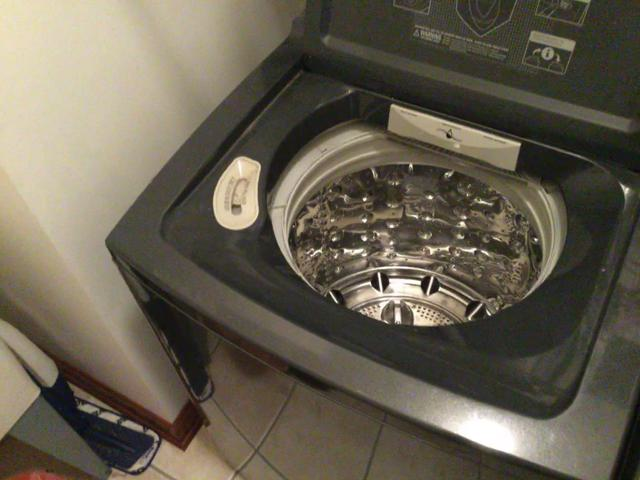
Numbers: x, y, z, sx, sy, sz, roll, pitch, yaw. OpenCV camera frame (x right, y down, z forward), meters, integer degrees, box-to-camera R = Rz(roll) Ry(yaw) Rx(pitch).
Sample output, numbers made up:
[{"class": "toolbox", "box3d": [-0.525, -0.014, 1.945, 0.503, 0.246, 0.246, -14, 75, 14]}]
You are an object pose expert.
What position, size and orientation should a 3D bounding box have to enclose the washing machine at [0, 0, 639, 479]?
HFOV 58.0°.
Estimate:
[{"class": "washing machine", "box3d": [0.130, 0.000, 1.040, 0.680, 1.340, 0.890, 21, 56, 20]}]
